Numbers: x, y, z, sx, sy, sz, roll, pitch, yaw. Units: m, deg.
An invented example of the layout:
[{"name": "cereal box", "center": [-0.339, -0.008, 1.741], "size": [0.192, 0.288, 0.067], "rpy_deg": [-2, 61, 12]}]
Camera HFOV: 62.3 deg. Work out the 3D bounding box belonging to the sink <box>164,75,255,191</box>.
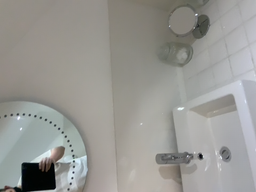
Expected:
[{"name": "sink", "center": [0.370, 0.250, 0.880], "size": [0.450, 0.140, 0.530], "rpy_deg": [145, 125, -59]}]
